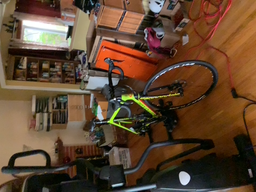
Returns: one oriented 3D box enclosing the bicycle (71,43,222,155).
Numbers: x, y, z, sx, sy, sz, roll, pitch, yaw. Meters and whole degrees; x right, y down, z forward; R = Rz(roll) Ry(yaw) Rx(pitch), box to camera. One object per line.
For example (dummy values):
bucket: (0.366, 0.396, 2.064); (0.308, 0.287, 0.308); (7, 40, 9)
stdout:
bicycle: (0.020, 0.180, 2.360); (1.510, 1.060, 0.500); (127, 139, -54)
